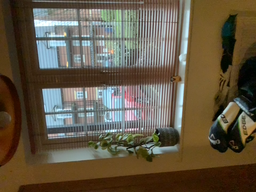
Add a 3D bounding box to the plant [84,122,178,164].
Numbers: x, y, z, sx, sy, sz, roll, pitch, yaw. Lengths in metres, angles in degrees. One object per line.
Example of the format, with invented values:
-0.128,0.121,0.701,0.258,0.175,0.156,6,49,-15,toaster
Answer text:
0.020,0.350,1.620,0.180,0.680,0.210,-120,29,-73,plant
